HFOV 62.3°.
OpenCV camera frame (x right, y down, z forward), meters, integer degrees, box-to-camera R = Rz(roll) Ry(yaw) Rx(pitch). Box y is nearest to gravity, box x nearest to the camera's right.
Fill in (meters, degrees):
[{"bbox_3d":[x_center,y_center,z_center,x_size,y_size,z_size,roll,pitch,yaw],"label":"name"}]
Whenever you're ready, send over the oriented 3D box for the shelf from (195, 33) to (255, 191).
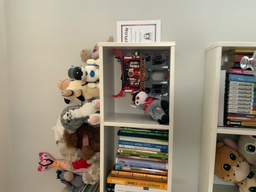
[{"bbox_3d":[0.470,0.280,0.900,0.210,0.300,1.030,-40,-48,-78],"label":"shelf"}]
